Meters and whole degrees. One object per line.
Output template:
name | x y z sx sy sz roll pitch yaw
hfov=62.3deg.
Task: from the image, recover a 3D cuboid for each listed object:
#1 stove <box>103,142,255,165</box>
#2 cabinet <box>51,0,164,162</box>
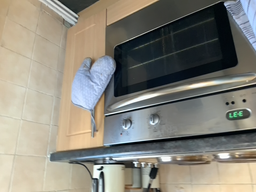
stove | 0.310 0.270 0.930 0.600 0.030 0.580 -14 156 31
cabinet | -0.080 -0.080 1.310 0.300 0.900 0.600 -14 156 31
